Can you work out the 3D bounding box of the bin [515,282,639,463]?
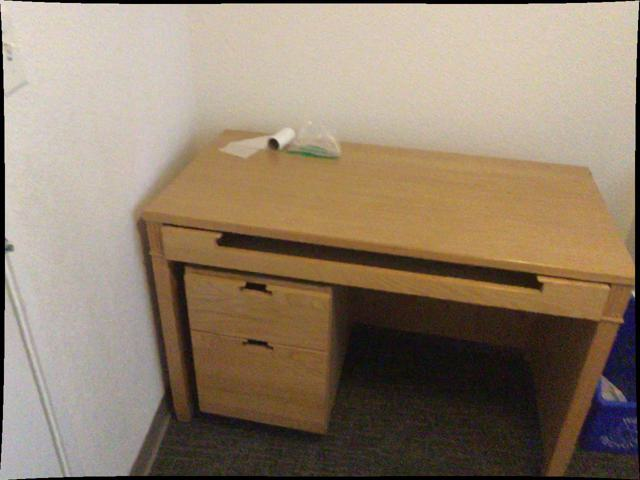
[{"bbox_3d":[0.859,0.411,1.860,0.300,0.370,0.430,1,29,4],"label":"bin"}]
